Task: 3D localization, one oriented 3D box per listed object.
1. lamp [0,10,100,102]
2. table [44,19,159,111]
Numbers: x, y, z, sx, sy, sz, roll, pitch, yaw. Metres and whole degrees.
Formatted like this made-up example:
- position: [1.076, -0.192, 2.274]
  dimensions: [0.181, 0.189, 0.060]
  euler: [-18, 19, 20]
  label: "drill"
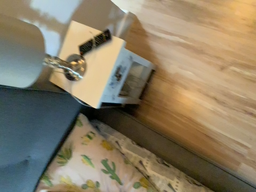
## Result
- position: [-0.360, -0.140, 0.740]
  dimensions: [0.240, 0.460, 0.220]
  euler: [28, 99, 26]
  label: "lamp"
- position: [-0.110, -0.130, 1.130]
  dimensions: [0.310, 0.460, 0.310]
  euler: [28, 99, 26]
  label: "table"
